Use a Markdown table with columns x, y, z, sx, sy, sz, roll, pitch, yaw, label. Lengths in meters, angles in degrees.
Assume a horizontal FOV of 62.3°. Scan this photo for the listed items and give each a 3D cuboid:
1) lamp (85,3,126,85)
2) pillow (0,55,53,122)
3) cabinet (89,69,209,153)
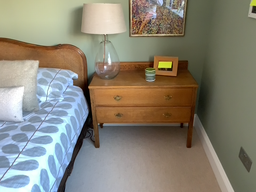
| x | y | z | sx | sy | sz | roll | pitch | yaw | label |
| --- | --- | --- | --- | --- | --- | --- | --- | --- | --- |
| -0.170 | -0.470 | 1.900 | 0.280 | 0.650 | 0.360 | 1 | 26 | 3 | lamp |
| -0.970 | -0.090 | 1.740 | 0.460 | 0.360 | 0.520 | 2 | 26 | 5 | pillow |
| 0.190 | 0.140 | 2.180 | 1.020 | 0.710 | 0.450 | 1 | 26 | 4 | cabinet |
